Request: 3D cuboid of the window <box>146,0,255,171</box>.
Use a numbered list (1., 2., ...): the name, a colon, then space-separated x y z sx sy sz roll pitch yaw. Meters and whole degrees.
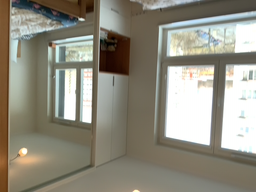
1. window: 1.160 -0.200 2.900 1.880 2.110 0.200 5 -176 36
